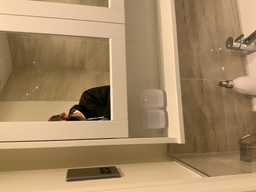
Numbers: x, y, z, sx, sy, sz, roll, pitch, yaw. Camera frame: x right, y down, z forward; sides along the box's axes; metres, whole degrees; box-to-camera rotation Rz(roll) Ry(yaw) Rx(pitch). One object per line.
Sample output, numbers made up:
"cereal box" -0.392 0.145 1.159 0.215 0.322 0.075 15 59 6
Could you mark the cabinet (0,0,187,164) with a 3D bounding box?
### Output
"cabinet" -0.330 -0.210 0.690 0.160 0.990 0.810 140 130 -73
